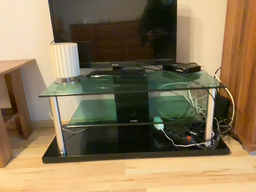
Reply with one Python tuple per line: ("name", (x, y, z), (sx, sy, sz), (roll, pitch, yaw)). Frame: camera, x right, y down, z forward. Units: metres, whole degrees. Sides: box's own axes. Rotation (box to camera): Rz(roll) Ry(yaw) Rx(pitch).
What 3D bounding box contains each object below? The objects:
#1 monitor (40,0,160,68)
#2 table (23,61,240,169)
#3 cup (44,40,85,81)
("monitor", (-0.160, -0.390, 1.250), (0.680, 0.440, 0.050), (1, 20, 8))
("table", (0.020, 0.080, 1.270), (1.000, 0.460, 0.460), (-2, 19, 0))
("cup", (-0.350, -0.210, 1.210), (0.190, 0.190, 0.180), (-5, 20, -9))
